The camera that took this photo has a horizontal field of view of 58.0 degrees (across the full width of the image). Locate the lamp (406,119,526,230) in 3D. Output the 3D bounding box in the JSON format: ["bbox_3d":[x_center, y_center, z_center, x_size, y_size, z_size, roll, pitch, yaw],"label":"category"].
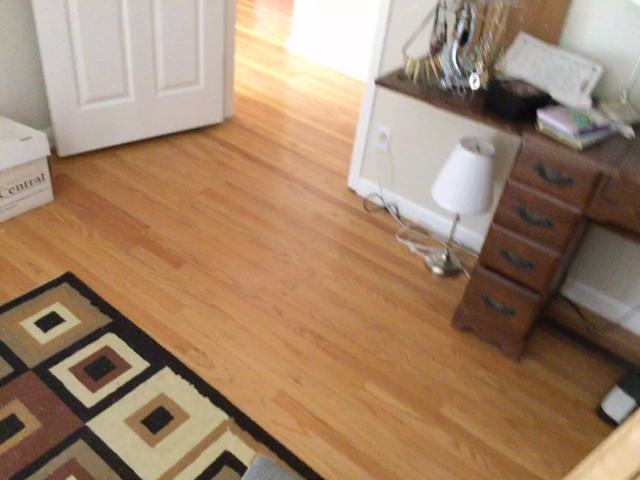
[{"bbox_3d":[0.530,-0.250,2.110,0.280,0.230,0.300,28,39,25],"label":"lamp"}]

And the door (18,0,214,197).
[{"bbox_3d":[-0.760,-1.150,2.140,0.730,2.070,0.170,-24,50,-33],"label":"door"}]
